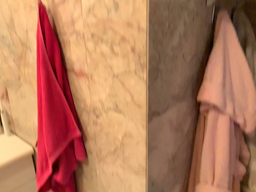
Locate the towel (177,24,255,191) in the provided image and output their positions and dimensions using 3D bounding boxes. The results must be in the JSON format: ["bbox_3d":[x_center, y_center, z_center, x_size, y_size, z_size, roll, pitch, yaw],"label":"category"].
[{"bbox_3d":[0.420,0.430,0.910,0.220,1.390,0.500,14,25,37],"label":"towel"}]

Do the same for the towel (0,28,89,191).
[{"bbox_3d":[-0.280,0.160,0.740,0.250,0.750,0.120,14,25,37],"label":"towel"}]
